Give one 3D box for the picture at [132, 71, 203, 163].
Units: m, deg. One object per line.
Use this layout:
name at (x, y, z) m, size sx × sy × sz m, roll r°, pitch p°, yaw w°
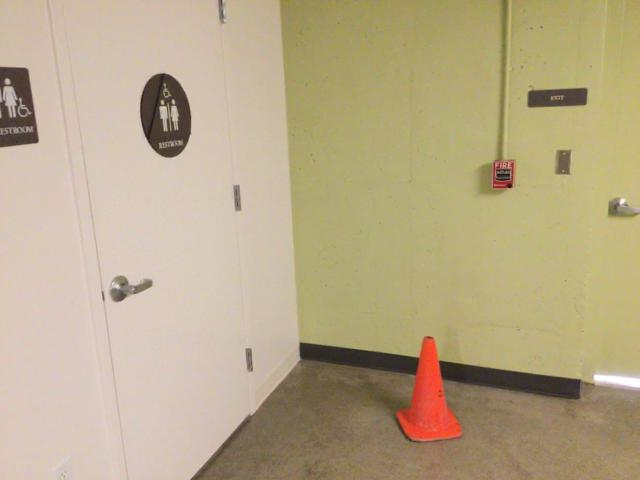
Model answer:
picture at (-0.540, -0.450, 2.080) m, size 0.030 × 0.300 × 0.310 m, roll 1°, pitch 16°, yaw 22°
